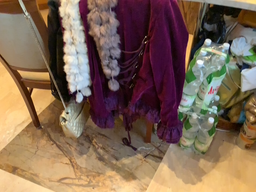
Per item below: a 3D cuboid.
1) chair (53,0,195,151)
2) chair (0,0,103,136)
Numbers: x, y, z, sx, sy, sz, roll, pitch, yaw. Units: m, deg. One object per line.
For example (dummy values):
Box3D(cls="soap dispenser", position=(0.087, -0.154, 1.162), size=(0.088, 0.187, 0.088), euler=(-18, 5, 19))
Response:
Box3D(cls="chair", position=(0.040, -0.220, 1.260), size=(0.470, 0.990, 0.530), euler=(19, 52, 19))
Box3D(cls="chair", position=(-0.490, -0.270, 1.340), size=(0.420, 0.990, 0.570), euler=(3, 48, 7))
